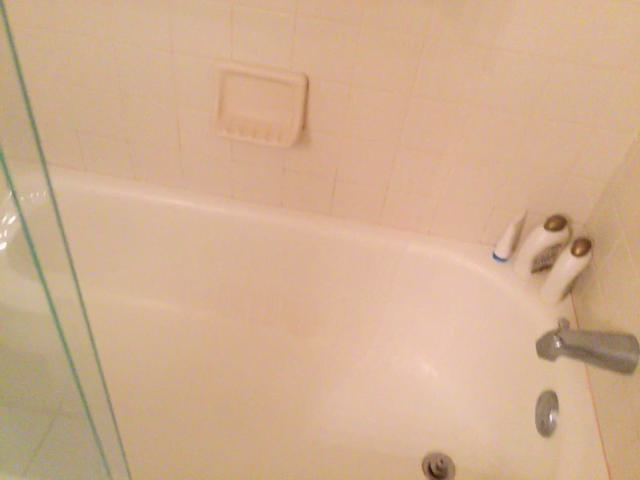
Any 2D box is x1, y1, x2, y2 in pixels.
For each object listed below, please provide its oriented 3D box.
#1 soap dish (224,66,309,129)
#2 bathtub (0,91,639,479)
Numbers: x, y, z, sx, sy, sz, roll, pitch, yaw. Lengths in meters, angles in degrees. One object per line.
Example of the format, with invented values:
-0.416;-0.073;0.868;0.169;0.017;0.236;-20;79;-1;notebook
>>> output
-0.100;-0.260;1.060;0.150;0.090;0.020;10;41;3;soap dish
-0.260;0.250;1.080;1.450;0.530;0.870;10;41;3;bathtub
